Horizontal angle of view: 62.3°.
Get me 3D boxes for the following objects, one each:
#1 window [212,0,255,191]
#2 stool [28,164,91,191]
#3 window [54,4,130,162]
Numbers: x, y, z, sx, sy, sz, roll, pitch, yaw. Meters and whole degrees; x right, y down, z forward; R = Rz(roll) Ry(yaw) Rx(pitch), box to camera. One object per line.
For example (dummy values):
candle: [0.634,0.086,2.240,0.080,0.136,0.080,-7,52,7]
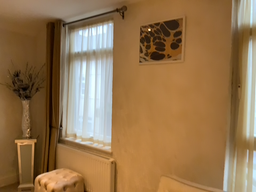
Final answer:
window: [1.250,-0.040,1.540,1.110,1.940,0.150,3,3,35]
stool: [-0.870,1.220,2.680,0.630,0.450,0.490,4,3,38]
window: [-0.560,-0.170,2.960,1.220,1.890,0.180,3,3,35]
